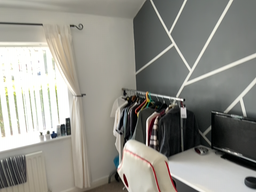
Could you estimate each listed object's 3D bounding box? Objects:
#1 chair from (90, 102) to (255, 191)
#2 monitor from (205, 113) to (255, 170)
[{"bbox_3d":[0.330,0.720,1.360,0.860,1.180,0.650,-8,11,-34],"label":"chair"},{"bbox_3d":[0.850,0.350,1.670,0.030,0.330,0.540,-6,10,-31],"label":"monitor"}]
